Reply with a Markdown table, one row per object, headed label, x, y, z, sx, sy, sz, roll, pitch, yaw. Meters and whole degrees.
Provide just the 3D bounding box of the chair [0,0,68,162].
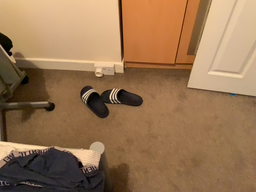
| label | x | y | z | sx | sy | sz | roll | pitch | yaw |
| --- | --- | --- | --- | --- | --- | --- | --- | --- | --- |
| chair | -0.850 | -0.100 | 1.130 | 0.680 | 0.720 | 0.670 | -26 | 56 | -18 |
